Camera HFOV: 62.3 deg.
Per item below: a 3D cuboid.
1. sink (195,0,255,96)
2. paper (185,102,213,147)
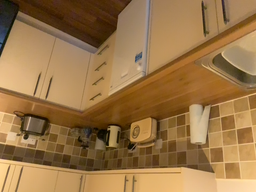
[{"bbox_3d":[0.700,-0.250,1.080,0.490,0.240,0.470,20,153,-29],"label":"sink"},{"bbox_3d":[0.510,0.210,1.550,0.110,0.290,0.150,19,154,-26],"label":"paper"}]
